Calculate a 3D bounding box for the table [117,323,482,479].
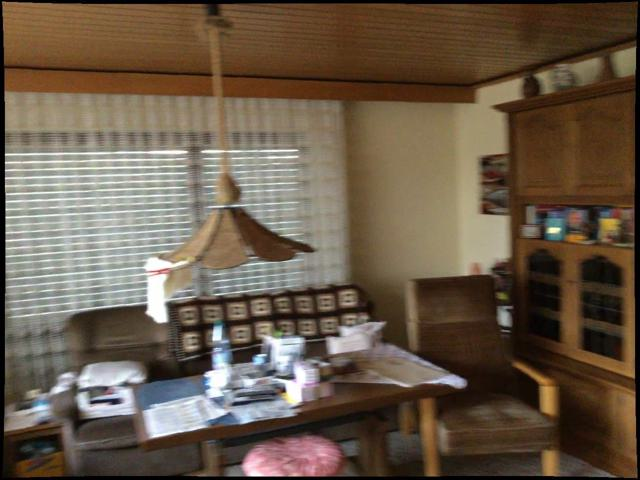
[{"bbox_3d":[-0.100,0.951,2.850,1.589,0.721,0.800,-4,7,-25],"label":"table"}]
